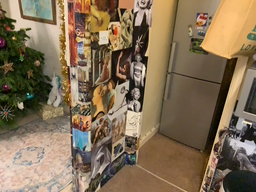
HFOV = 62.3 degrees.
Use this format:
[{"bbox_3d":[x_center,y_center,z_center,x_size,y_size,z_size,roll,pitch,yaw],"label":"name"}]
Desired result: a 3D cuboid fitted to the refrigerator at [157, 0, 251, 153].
[{"bbox_3d":[0.850,-0.410,2.420,0.560,1.980,0.600,20,29,31],"label":"refrigerator"}]
